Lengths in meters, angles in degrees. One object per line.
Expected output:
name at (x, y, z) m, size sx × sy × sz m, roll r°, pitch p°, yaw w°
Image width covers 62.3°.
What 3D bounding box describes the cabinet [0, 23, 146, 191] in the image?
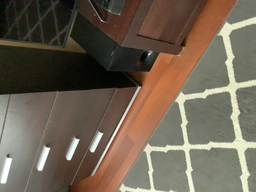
cabinet at (-0.630, 0.160, 1.330) m, size 0.640 × 1.040 × 0.950 m, roll 45°, pitch 120°, yaw 30°
